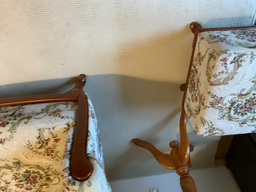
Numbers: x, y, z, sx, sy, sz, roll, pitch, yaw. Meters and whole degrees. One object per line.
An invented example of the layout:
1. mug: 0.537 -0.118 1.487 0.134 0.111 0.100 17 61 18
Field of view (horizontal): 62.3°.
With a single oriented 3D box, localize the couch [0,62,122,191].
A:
1. couch: -0.420 0.470 0.920 0.740 0.870 0.820 -7 129 -1
